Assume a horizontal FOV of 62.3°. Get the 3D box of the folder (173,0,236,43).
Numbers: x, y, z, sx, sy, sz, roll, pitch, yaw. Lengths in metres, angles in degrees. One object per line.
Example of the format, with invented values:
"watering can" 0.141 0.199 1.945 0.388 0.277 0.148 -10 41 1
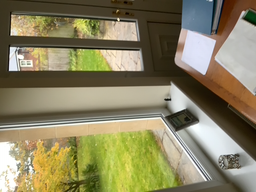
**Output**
"folder" 0.450 -0.540 1.270 0.360 0.130 0.360 -124 37 -58
